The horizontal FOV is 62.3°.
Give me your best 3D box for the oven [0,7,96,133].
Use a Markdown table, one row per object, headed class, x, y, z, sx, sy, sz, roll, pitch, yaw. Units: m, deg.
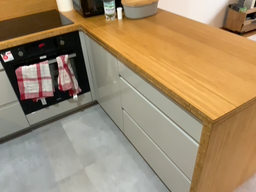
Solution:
| class | x | y | z | sx | sy | sz | roll | pitch | yaw |
| --- | --- | --- | --- | --- | --- | --- | --- | --- | --- |
| oven | -0.750 | -0.260 | 1.980 | 0.590 | 0.860 | 0.590 | -23 | 42 | -23 |
